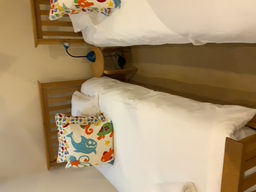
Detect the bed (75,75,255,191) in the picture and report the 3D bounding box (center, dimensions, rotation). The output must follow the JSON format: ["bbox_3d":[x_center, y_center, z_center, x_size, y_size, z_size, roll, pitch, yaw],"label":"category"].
[{"bbox_3d":[0.190,0.430,1.930,2.070,0.630,1.030,18,112,57],"label":"bed"}]

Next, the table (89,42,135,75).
[{"bbox_3d":[-0.190,-0.450,2.530,0.330,0.440,0.350,18,112,57],"label":"table"}]

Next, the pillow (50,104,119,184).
[{"bbox_3d":[-0.470,0.420,2.170,0.740,0.440,0.490,17,111,57],"label":"pillow"}]
